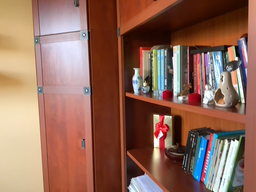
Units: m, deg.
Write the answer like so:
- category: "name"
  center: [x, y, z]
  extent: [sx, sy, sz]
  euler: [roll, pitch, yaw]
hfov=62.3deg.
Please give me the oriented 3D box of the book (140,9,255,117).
- category: "book"
  center: [0.350, -0.130, 0.990]
  extent: [0.250, 0.300, 0.890]
  euler: [-3, 6, -20]

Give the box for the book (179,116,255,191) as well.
- category: "book"
  center: [0.440, 0.280, 0.840]
  extent: [0.240, 0.300, 0.490]
  euler: [-3, 6, -18]
